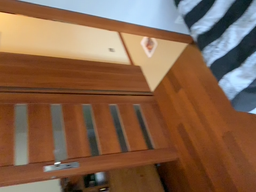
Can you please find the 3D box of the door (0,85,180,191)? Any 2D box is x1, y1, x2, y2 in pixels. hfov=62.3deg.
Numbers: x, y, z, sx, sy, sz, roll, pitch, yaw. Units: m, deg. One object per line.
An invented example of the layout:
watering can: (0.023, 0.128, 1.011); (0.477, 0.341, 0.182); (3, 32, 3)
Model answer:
door: (-0.530, 0.280, 1.790); (0.140, 1.940, 0.850); (-62, 39, 40)
